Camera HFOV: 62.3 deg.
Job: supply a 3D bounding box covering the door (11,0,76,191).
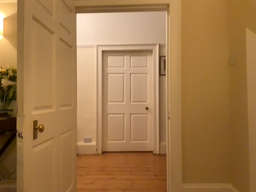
[{"bbox_3d":[-0.580,0.110,1.630,0.090,2.020,0.930,-1,0,2],"label":"door"}]
